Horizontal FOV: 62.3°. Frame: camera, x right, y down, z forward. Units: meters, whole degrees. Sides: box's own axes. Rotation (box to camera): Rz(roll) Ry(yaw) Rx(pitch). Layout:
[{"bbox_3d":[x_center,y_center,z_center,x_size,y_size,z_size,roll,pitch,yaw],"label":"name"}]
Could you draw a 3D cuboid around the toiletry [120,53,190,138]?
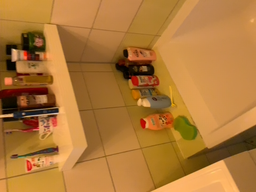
[{"bbox_3d":[0.140,-0.020,1.230,0.130,0.220,0.470,-51,51,49],"label":"toiletry"}]
